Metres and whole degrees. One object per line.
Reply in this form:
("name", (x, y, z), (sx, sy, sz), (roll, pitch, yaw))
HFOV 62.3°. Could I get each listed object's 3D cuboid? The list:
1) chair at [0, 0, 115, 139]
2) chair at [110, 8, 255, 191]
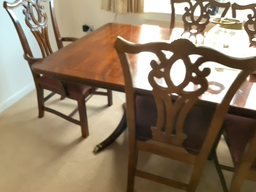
("chair", (-0.500, -0.280, 1.770), (0.590, 0.980, 0.600), (12, 33, 15))
("chair", (0.260, 0.100, 1.210), (0.530, 0.990, 0.590), (12, 33, 14))
